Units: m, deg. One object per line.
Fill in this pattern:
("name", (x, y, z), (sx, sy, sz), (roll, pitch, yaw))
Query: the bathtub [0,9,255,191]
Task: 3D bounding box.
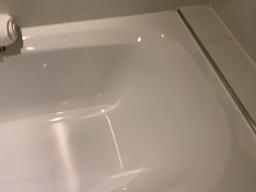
("bathtub", (-0.450, 0.220, 0.790), (1.730, 0.630, 0.710), (-8, 58, -12))
